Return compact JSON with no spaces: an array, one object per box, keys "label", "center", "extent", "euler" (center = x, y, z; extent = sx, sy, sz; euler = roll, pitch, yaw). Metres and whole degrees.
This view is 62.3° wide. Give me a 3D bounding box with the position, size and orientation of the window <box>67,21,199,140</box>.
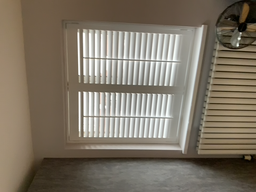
[{"label":"window","center":[0.020,-0.100,2.050],"extent":[0.100,1.150,1.100],"euler":[-107,20,-71]}]
